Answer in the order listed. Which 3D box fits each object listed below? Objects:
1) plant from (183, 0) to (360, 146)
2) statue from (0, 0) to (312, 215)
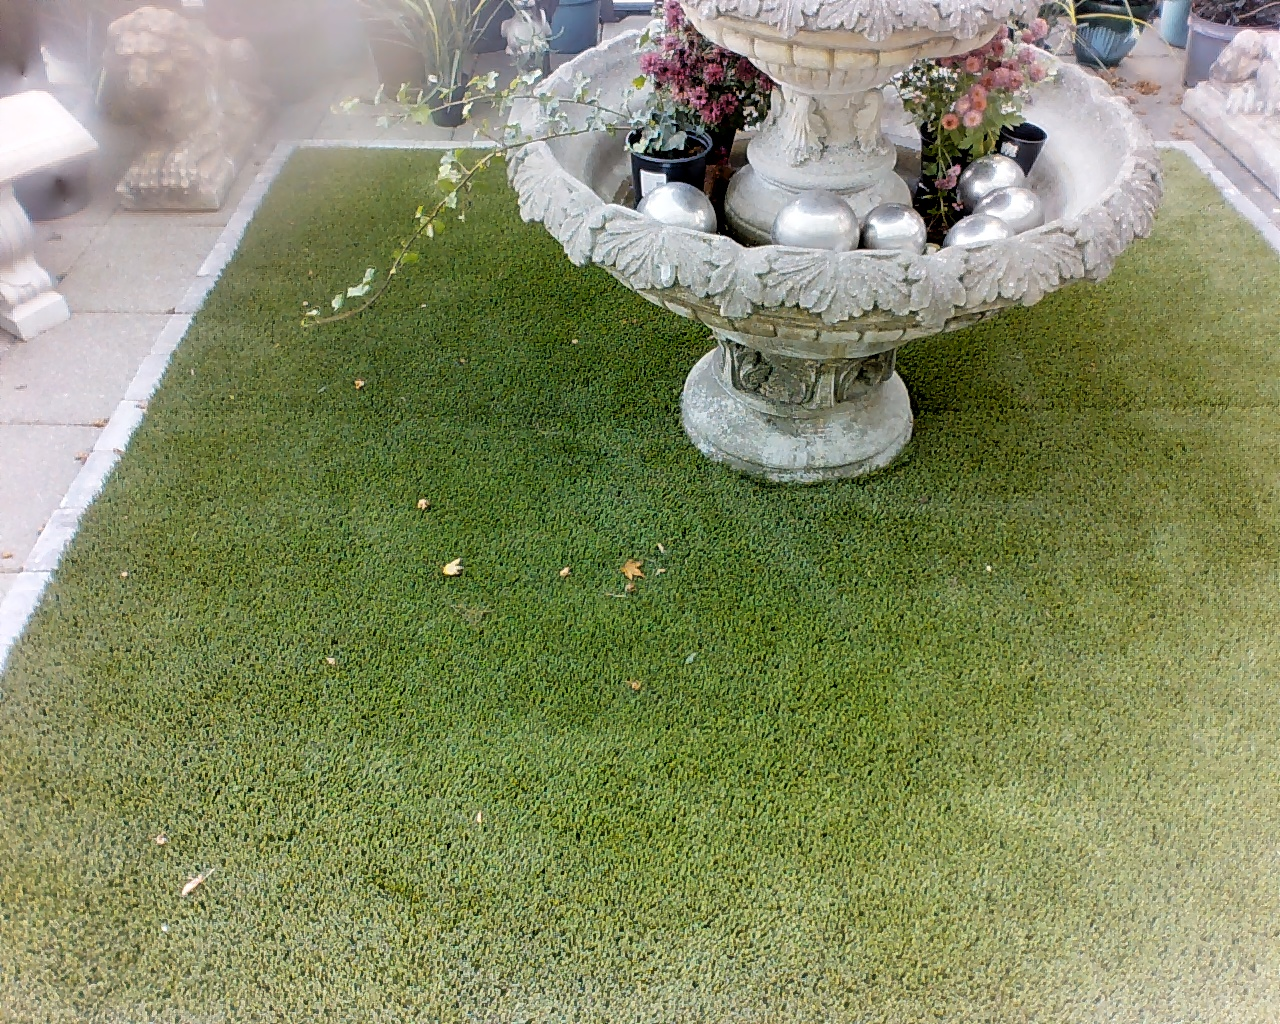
[{"bbox_3d":[-1.220,-1.570,3.630,0.330,0.380,0.690,0,42,1],"label":"plant"},{"bbox_3d":[-1.410,-1.380,3.270,0.470,0.530,0.970,0,42,1],"label":"statue"}]
